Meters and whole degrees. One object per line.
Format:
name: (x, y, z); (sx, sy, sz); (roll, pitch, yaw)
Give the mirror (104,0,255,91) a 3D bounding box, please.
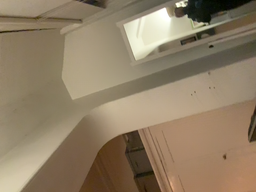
mirror: (0.780, -0.670, 1.660); (0.510, 1.760, 0.620); (-69, -41, -68)
